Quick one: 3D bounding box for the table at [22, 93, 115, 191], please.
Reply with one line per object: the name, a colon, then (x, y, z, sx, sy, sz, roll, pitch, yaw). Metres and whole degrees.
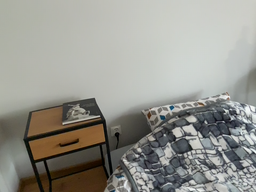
table: (-0.360, 0.390, 1.400, 0.410, 0.630, 0.470, -11, 23, -15)
